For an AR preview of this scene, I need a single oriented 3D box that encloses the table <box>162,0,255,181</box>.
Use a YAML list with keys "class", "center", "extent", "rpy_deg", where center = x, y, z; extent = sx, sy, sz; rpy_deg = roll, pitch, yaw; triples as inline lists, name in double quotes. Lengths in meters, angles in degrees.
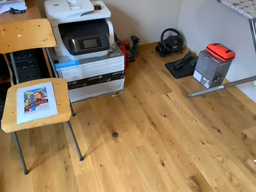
- class: "table"
  center: [0.850, -0.170, 1.530]
  extent: [0.460, 0.870, 1.440]
  rpy_deg: [-14, 45, -16]
